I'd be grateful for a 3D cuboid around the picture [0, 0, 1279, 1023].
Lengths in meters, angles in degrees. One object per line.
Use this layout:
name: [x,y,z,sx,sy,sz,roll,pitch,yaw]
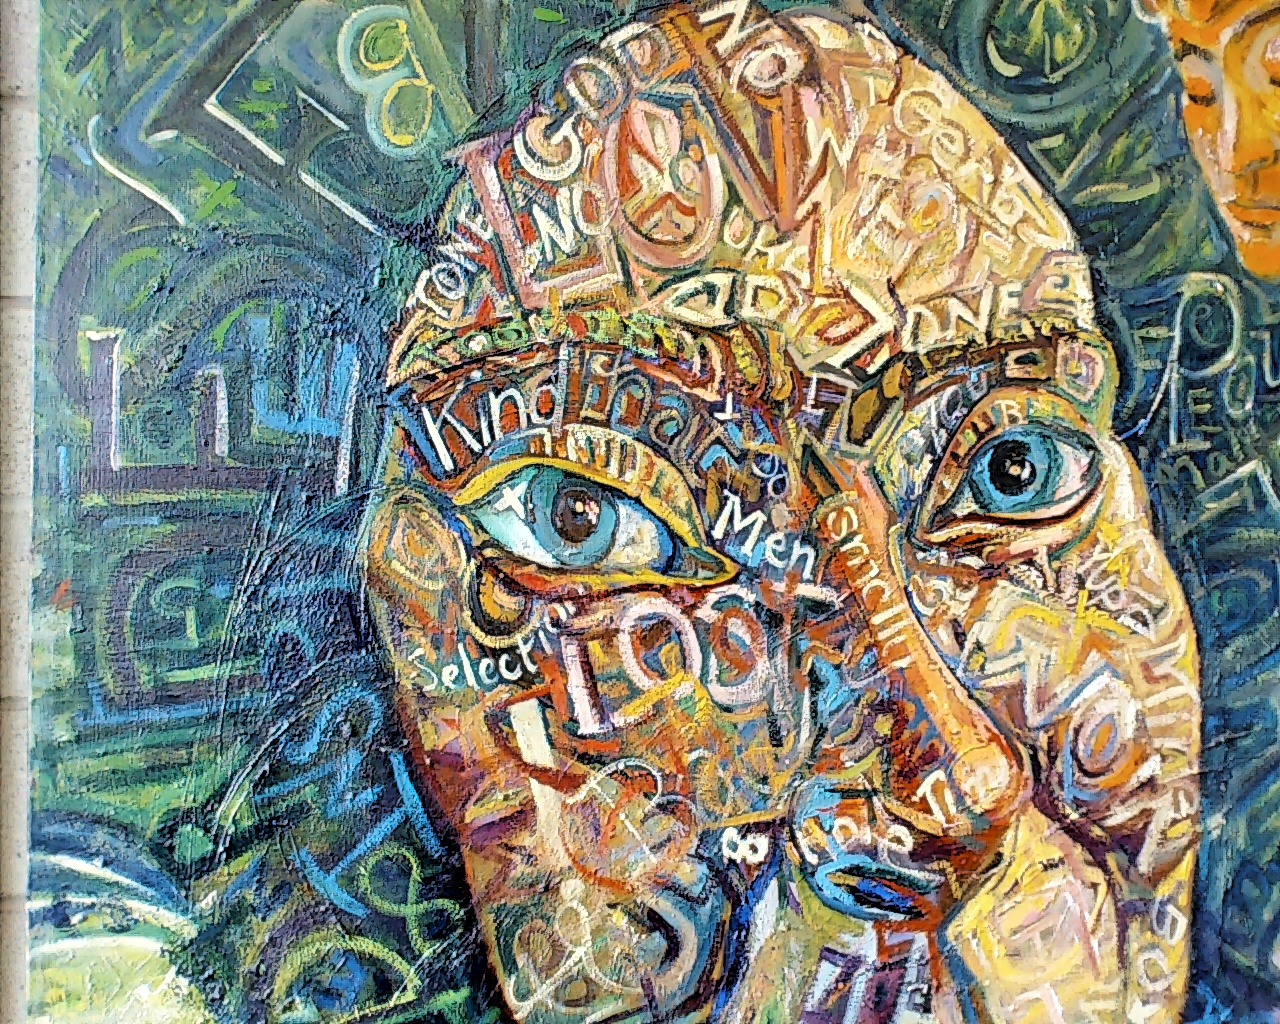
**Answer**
picture: [0.190,0.110,1.190,1.890,2.200,0.130,1,1,-9]
